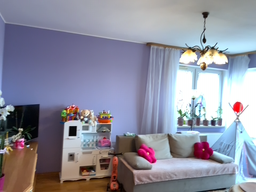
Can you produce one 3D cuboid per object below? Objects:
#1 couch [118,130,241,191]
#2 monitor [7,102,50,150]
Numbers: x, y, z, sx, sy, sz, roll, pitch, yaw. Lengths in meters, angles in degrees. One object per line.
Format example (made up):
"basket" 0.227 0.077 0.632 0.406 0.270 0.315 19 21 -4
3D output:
"couch" 0.930 1.150 3.980 1.960 0.820 1.020 3 1 -20
"monitor" -1.590 0.440 3.500 0.050 0.630 1.060 3 1 7
